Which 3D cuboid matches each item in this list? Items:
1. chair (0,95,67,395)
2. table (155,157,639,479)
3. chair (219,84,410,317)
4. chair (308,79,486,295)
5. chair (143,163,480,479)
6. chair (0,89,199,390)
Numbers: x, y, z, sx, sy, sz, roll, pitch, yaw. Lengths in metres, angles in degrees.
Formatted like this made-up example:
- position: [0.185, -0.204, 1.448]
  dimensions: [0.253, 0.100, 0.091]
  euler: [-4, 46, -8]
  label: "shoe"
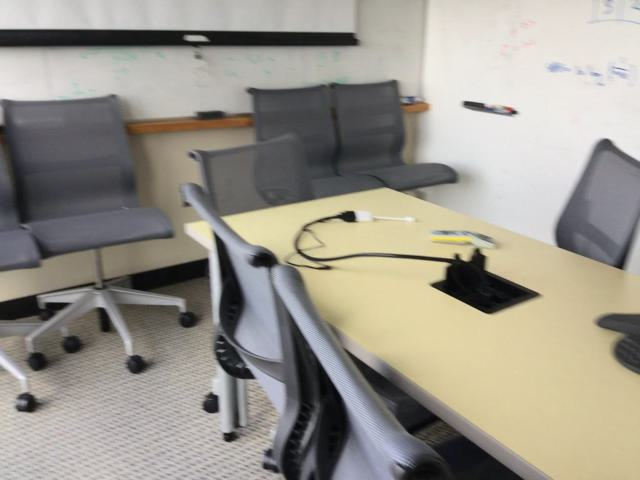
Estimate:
- position: [-1.320, 0.010, 1.960]
  dimensions: [0.620, 0.880, 0.700]
  euler: [-12, 25, -30]
  label: "chair"
- position: [0.740, 0.630, 0.810]
  dimensions: [0.940, 0.800, 2.990]
  euler: [-12, 25, -30]
  label: "table"
- position: [-0.040, -0.240, 2.820]
  dimensions: [0.670, 0.930, 0.580]
  euler: [-12, 25, -30]
  label: "chair"
- position: [0.370, -0.320, 3.040]
  dimensions: [0.650, 0.940, 0.580]
  euler: [-12, 25, -30]
  label: "chair"
- position: [-0.050, 0.340, 1.350]
  dimensions: [0.480, 0.890, 0.540]
  euler: [-12, 25, -31]
  label: "chair"
- position: [-0.900, -0.060, 2.260]
  dimensions: [0.600, 0.940, 0.610]
  euler: [-12, 25, -30]
  label: "chair"
